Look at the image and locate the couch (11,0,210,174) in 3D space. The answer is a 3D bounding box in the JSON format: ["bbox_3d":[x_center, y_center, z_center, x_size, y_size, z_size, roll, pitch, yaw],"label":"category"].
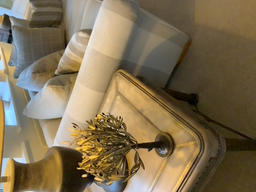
[{"bbox_3d":[-0.490,-0.460,2.030,2.100,0.720,1.040,44,115,46],"label":"couch"}]

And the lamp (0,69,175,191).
[{"bbox_3d":[-0.360,0.260,0.690,0.460,0.760,0.540,39,112,47],"label":"lamp"}]
